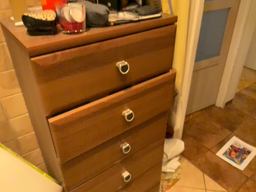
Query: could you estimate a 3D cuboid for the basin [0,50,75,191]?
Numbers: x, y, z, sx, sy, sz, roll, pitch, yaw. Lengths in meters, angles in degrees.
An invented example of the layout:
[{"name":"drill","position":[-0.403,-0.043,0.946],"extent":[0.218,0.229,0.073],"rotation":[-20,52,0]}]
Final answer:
[{"name":"basin","position":[-0.480,0.290,0.690],"extent":[0.450,0.680,0.440],"rotation":[-24,40,-32]}]
